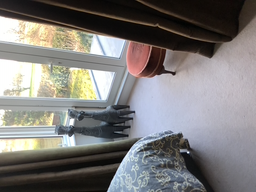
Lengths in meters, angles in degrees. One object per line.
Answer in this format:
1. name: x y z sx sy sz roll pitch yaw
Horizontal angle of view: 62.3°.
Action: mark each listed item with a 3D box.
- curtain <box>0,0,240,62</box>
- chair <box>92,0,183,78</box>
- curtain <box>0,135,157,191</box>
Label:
1. curtain: -0.270 -0.570 1.250 0.190 2.320 0.410 59 137 47
2. chair: 0.080 -0.570 2.270 0.540 0.750 0.690 10 96 62
3. curtain: -0.750 0.720 2.270 0.290 2.200 0.450 60 138 47
